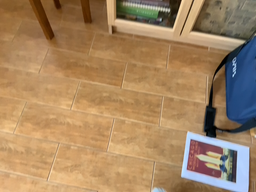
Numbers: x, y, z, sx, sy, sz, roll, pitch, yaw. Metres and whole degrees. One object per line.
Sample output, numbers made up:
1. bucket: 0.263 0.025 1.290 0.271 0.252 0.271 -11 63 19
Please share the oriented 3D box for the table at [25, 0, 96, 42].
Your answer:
1. table: -0.350 -0.580 1.100 0.280 0.530 0.280 7 65 0
